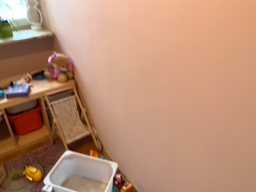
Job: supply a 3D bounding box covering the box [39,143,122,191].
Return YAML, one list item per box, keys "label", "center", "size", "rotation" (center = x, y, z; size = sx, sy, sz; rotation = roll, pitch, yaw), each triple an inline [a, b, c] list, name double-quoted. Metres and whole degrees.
- label: "box"
  center: [-0.320, 0.580, 1.520]
  size: [0.450, 0.190, 0.330]
  rotation: [12, 34, 19]
